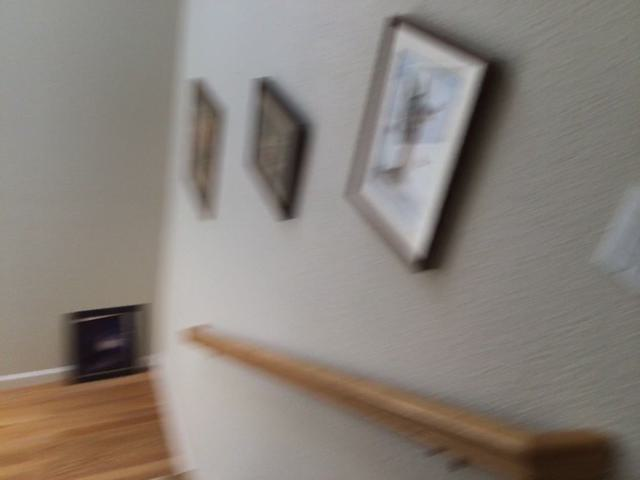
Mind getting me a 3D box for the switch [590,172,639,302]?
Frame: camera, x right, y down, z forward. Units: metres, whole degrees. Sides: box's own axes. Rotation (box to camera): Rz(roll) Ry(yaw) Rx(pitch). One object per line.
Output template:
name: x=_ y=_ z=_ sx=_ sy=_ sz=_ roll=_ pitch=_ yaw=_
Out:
switch: x=0.390 y=0.010 z=0.670 sx=0.020 sy=0.130 sz=0.130 roll=-10 pitch=38 yaw=-20
